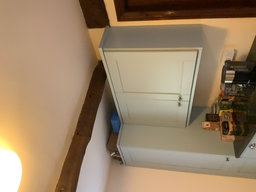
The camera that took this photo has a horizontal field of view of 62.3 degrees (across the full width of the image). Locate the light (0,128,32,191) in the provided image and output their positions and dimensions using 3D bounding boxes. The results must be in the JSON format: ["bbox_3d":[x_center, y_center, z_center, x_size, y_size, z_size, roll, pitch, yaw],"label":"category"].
[{"bbox_3d":[-0.530,0.330,0.850,0.250,0.110,0.320,-50,141,-73],"label":"light"}]
